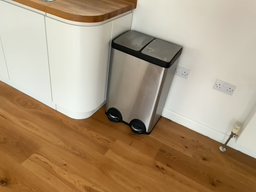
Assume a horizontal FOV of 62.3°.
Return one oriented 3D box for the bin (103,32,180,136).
[{"bbox_3d":[0.080,-0.090,1.740,0.410,0.690,0.310,26,40,19],"label":"bin"}]
